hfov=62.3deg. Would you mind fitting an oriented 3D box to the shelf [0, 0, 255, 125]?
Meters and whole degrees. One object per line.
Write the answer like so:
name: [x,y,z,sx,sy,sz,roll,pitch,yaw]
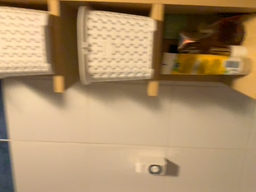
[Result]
shelf: [-0.020,-0.100,0.460,0.260,0.620,0.220,-90,2,-74]
